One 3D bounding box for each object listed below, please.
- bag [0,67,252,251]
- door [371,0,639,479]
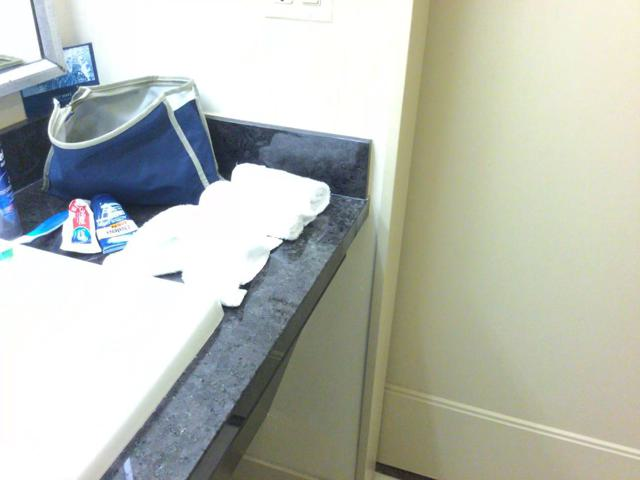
[{"bbox_3d":[-0.300,-0.150,0.940,0.270,0.180,0.280,11,30,18],"label":"bag"},{"bbox_3d":[0.550,0.080,1.070,0.850,1.400,0.110,11,30,18],"label":"door"}]
